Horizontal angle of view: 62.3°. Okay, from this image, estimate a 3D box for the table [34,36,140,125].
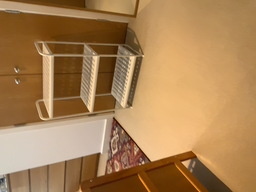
[{"bbox_3d":[-0.400,-0.160,2.010,0.360,0.850,0.660,45,132,48],"label":"table"}]
